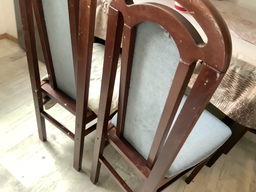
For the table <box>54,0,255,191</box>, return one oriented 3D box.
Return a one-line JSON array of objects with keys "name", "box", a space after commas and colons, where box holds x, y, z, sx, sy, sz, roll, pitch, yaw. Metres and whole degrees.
[{"name": "table", "box": [0.300, -0.230, 1.430, 1.320, 0.780, 0.820, 30, 42, 16]}]
